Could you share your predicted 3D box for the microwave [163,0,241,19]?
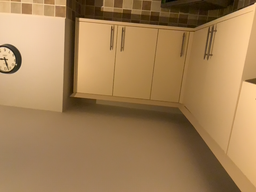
[{"bbox_3d":[0.680,-0.940,2.010,0.540,0.290,0.490,4,-167,-7],"label":"microwave"}]
